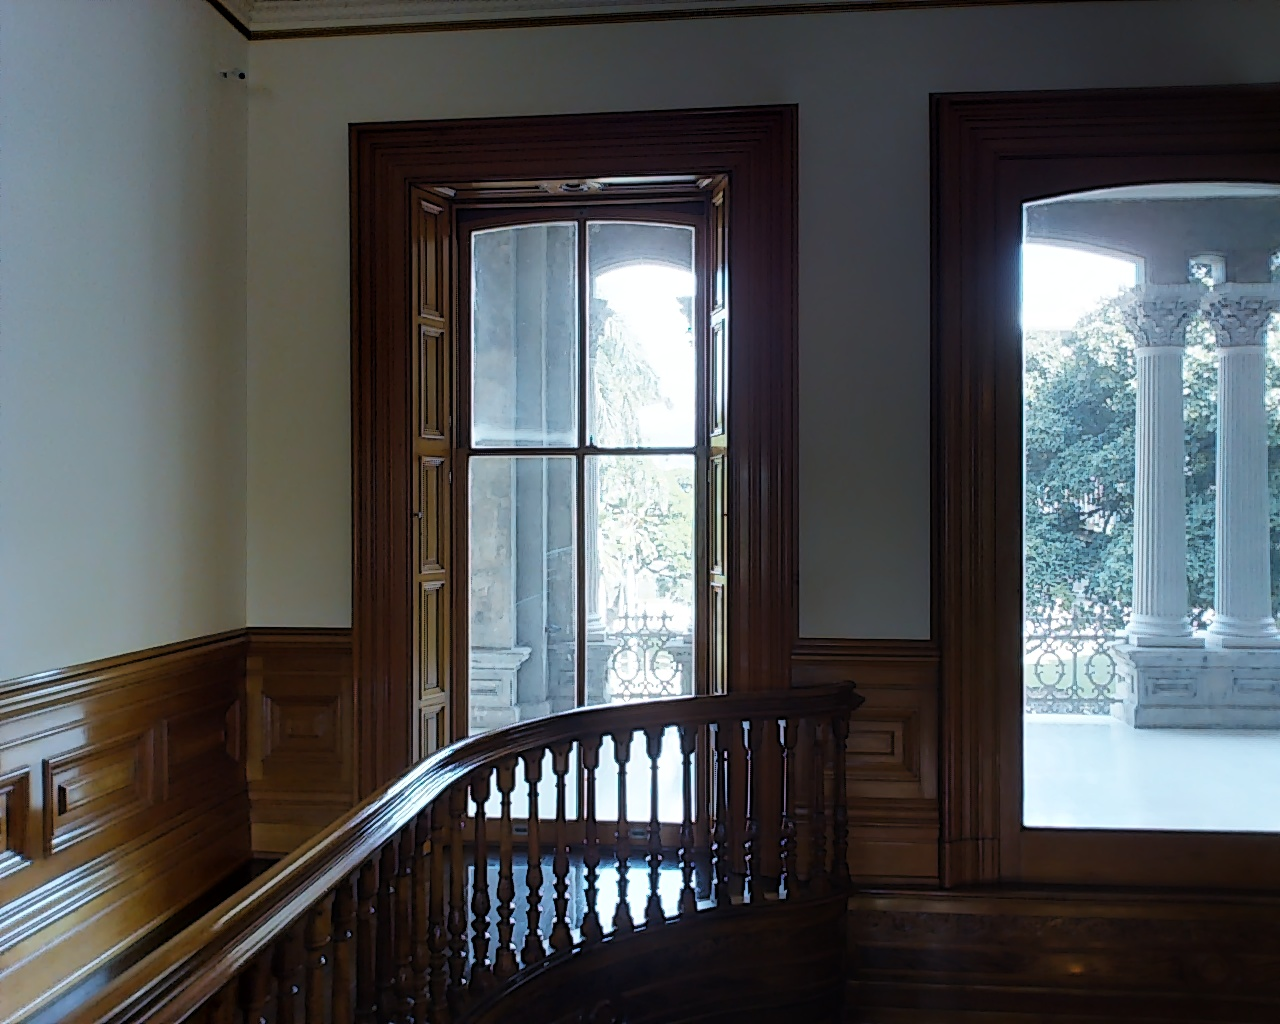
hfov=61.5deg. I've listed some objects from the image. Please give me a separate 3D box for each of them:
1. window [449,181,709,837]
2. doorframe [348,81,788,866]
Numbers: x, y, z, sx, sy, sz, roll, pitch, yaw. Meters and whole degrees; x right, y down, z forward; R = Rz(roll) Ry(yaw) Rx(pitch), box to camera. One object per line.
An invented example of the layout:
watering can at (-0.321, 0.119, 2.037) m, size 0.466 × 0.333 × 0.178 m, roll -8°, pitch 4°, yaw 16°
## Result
window at (-0.290, -0.010, 5.180) m, size 1.230 × 3.070 × 0.160 m, roll 0°, pitch 1°, yaw 6°
doorframe at (-0.310, -0.160, 4.980) m, size 1.960 × 3.390 × 0.470 m, roll 0°, pitch 1°, yaw 6°
